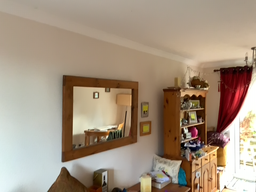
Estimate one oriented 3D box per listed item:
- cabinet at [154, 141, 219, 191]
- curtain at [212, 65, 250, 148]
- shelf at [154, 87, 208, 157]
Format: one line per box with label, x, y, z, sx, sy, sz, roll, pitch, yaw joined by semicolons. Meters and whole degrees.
cabinet;0.970;1.250;3.390;0.560;0.810;1.110;-1;-1;42
curtain;2.010;0.190;4.160;0.610;1.520;0.250;-1;-1;40
shelf;0.900;0.360;3.450;0.390;0.960;1.110;-1;-1;40
